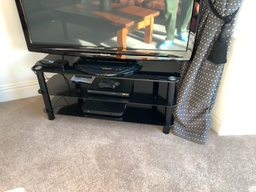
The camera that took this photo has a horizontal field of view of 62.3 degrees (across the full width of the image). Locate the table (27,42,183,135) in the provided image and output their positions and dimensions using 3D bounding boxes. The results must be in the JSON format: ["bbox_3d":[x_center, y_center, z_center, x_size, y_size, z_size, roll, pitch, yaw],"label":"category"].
[{"bbox_3d":[-0.140,-0.090,1.730,1.060,0.500,0.460,5,34,8],"label":"table"}]
